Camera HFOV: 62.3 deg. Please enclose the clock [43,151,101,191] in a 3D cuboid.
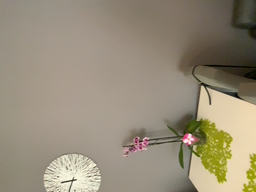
[{"bbox_3d":[-0.450,0.670,1.730,0.080,0.440,0.440,-120,33,-75],"label":"clock"}]
